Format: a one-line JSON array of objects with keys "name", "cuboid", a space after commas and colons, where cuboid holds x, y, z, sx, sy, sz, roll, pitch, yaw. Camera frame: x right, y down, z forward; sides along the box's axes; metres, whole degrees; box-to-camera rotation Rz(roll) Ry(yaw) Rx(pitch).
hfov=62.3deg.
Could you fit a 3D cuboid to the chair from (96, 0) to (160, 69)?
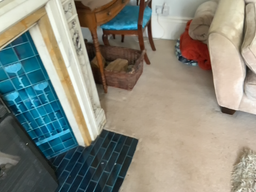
[{"name": "chair", "cuboid": [0.030, -0.780, 2.080, 0.460, 0.870, 0.430, 12, 47, 17]}]
